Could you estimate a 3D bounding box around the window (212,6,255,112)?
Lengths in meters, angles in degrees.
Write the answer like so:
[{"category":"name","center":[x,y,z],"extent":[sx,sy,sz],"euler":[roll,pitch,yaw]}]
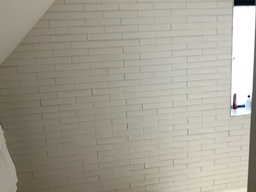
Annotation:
[{"category":"window","center":[1.070,-0.350,2.110],"extent":[0.420,1.000,0.070],"euler":[-4,11,-5]}]
